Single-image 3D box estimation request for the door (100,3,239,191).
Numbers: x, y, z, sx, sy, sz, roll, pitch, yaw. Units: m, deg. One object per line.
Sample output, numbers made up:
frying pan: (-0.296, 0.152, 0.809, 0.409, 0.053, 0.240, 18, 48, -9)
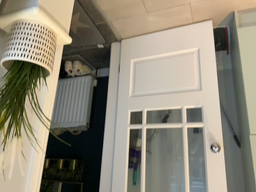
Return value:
door: (0.250, 0.390, 1.480, 0.880, 2.140, 0.150, -5, 161, 23)
